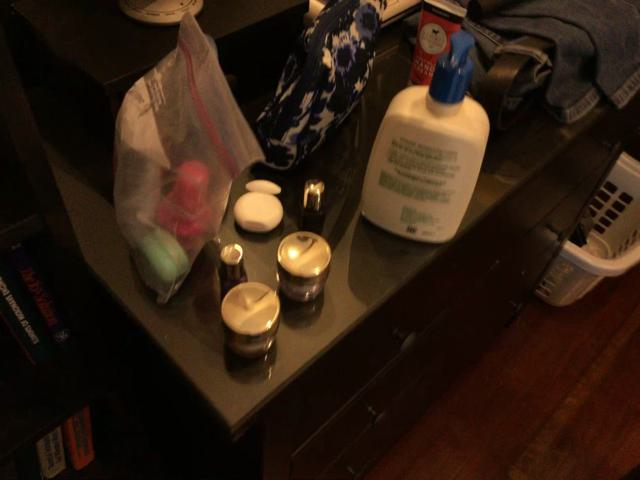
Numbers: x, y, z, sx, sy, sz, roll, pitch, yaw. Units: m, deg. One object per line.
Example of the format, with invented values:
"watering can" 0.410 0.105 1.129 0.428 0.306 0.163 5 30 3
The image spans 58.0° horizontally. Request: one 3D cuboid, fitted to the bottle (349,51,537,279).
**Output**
"bottle" 0.110 -0.070 0.550 0.090 0.150 0.130 37 57 26
